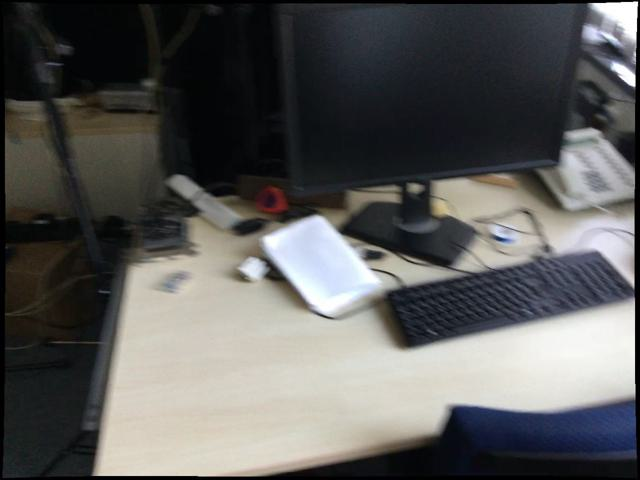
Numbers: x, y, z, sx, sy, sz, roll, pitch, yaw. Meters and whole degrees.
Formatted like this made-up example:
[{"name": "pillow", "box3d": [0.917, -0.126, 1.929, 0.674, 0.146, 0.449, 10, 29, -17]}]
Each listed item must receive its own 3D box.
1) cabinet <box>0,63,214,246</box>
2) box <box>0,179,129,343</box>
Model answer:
[{"name": "cabinet", "box3d": [-1.009, -0.380, 2.590, 0.879, 0.610, 0.500, -2, 36, 5]}, {"name": "box", "box3d": [-1.059, 0.070, 2.140, 0.470, 0.370, 0.490, -2, 36, 5]}]
